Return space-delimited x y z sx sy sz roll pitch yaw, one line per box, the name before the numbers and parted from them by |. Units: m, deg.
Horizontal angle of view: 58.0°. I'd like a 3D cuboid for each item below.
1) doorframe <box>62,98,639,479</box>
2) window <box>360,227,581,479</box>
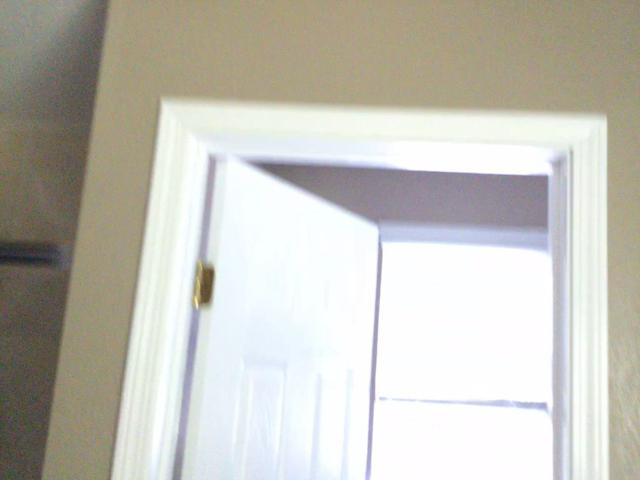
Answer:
doorframe | 0.040 0.760 1.000 0.990 2.050 0.270 2 -13 8
window | 0.500 0.420 2.000 0.670 0.880 0.240 2 -13 8
